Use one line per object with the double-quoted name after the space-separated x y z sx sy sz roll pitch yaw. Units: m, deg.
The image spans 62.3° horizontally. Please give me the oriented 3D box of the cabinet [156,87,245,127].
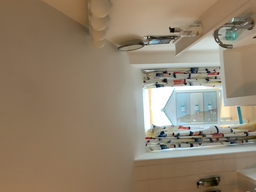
0.800 0.110 2.350 0.200 0.930 0.390 179 88 -81 "cabinet"
